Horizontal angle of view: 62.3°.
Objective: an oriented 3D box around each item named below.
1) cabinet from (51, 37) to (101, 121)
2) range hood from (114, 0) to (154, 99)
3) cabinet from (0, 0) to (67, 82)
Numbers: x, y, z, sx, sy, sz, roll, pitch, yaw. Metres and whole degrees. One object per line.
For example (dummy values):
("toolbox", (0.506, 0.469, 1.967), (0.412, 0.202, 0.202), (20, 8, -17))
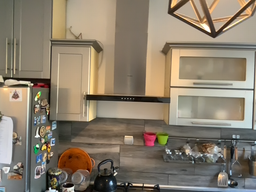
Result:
("cabinet", (-0.410, -0.130, 1.730), (0.310, 0.610, 0.300), (2, 1, 3))
("range hood", (0.060, -0.480, 1.750), (0.280, 0.990, 0.260), (2, 1, 5))
("cabinet", (-0.860, -0.520, 1.740), (0.610, 0.780, 0.310), (2, 1, 3))
